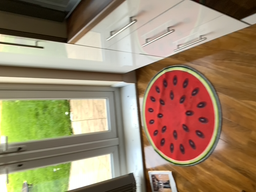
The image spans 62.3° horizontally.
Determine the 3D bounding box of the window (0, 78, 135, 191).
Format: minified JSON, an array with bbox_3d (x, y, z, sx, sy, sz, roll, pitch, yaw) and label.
[{"bbox_3d":[-0.920,0.490,1.550,0.180,2.160,1.240,-22,73,51],"label":"window"}]
